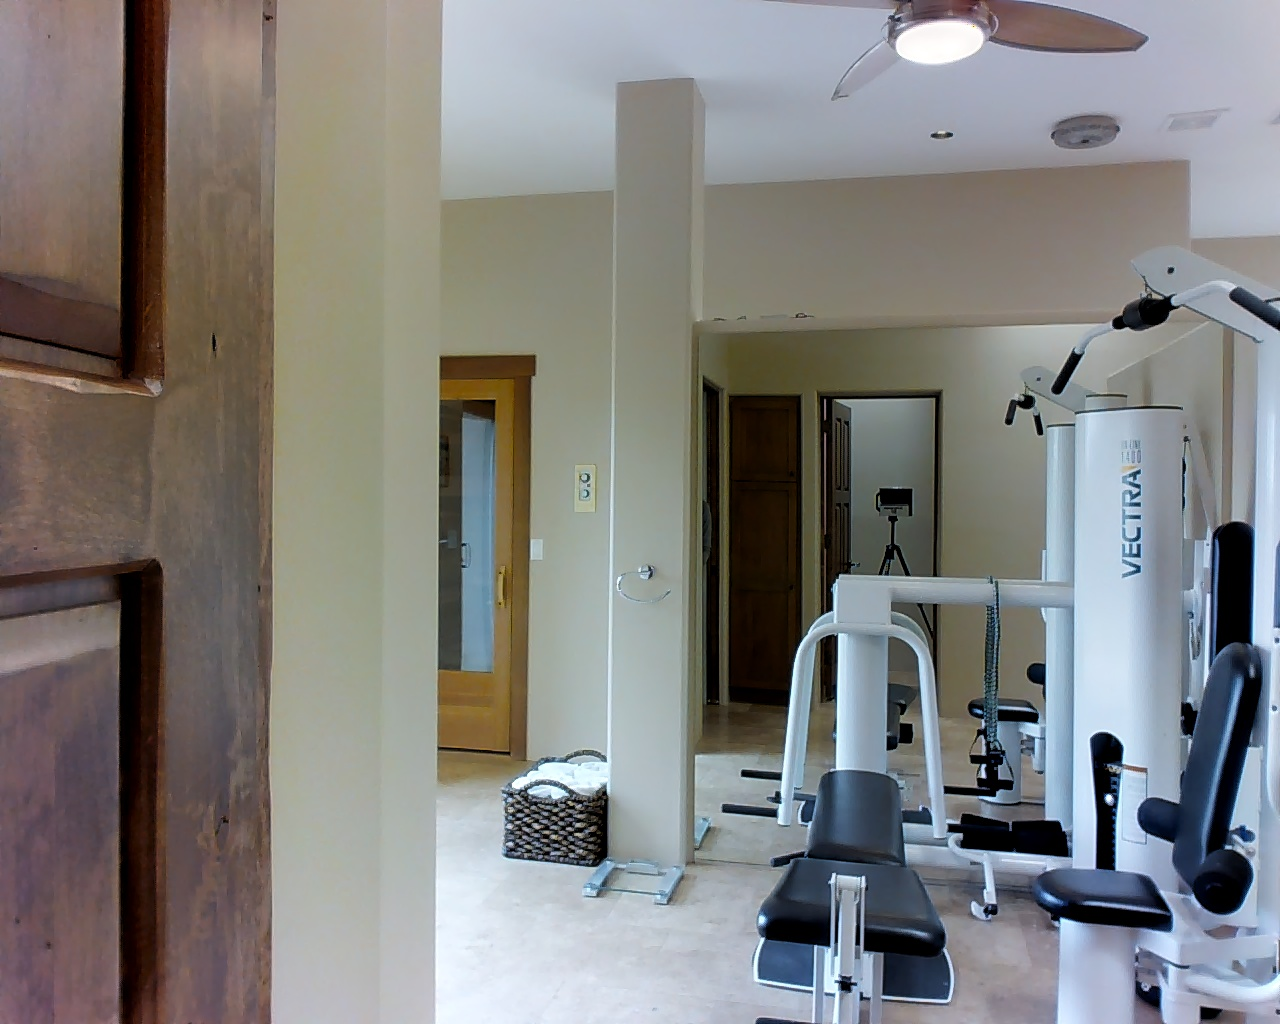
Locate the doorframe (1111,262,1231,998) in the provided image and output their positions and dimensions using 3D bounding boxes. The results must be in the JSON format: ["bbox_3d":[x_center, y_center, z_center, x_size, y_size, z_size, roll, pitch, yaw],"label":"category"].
[{"bbox_3d":[1.720,0.340,3.520,0.150,2.130,0.830,1,0,14],"label":"doorframe"}]
